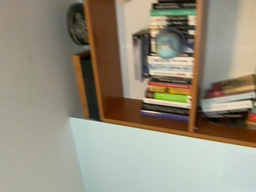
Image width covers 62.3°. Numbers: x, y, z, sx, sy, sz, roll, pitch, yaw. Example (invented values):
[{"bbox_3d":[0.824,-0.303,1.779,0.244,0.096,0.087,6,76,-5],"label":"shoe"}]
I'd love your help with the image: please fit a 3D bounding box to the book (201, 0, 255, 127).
[{"bbox_3d":[0.470,-0.180,0.850,0.210,0.280,0.560,-46,-43,-56],"label":"book"}]
